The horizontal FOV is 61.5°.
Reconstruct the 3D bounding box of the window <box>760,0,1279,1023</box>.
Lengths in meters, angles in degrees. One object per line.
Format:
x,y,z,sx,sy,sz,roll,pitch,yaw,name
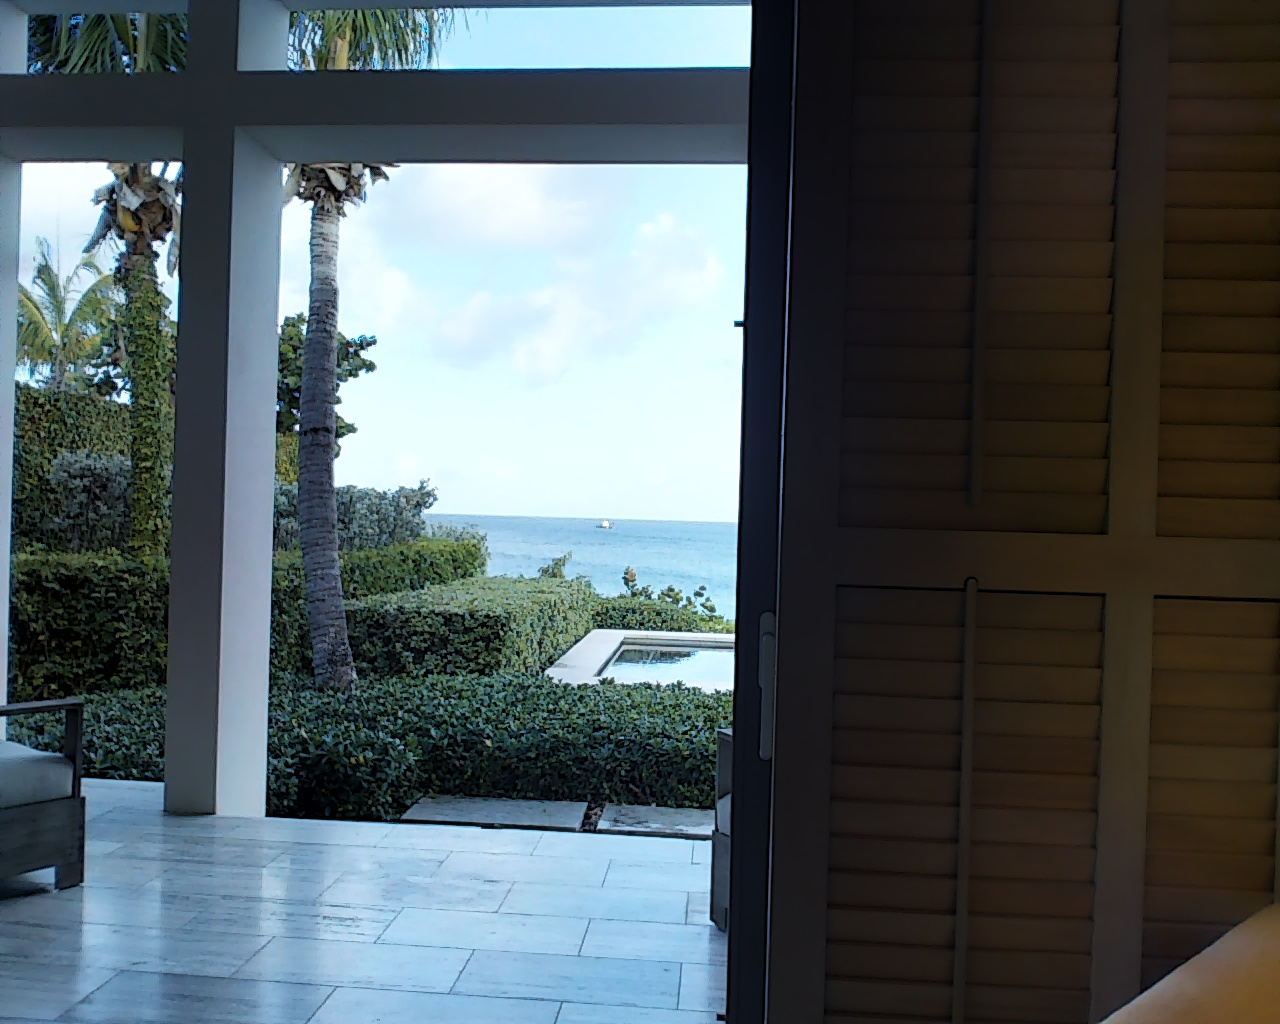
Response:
0.930,0.010,1.890,1.370,2.470,0.080,2,0,5,window
